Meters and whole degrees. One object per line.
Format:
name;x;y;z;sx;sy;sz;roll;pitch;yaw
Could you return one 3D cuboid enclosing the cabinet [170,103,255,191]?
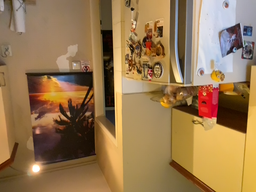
cabinet;0.570;0.340;1.350;0.310;0.460;0.590;-5;-169;-23
